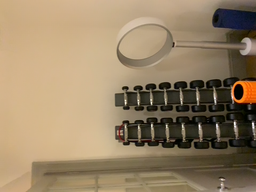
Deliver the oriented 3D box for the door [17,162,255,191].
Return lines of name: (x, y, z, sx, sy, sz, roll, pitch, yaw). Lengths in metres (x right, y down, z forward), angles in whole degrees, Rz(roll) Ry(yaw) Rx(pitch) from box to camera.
door: (0.350, 0.610, 1.550, 0.770, 2.070, 0.050, 135, 135, -77)
